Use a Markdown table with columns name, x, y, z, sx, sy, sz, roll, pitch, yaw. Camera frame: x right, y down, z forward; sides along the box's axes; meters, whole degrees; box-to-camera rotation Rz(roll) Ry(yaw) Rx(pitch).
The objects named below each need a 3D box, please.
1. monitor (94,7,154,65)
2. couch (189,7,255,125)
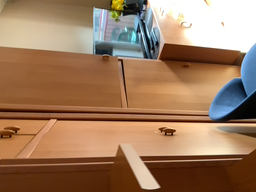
| name | x | y | z | sx | sy | sz | roll | pitch | yaw |
| --- | --- | --- | --- | --- | --- | --- | --- | --- | --- |
| monitor | -0.080 | -0.650 | 2.200 | 0.050 | 0.540 | 0.890 | 105 | 162 | -47 |
| couch | 0.840 | -0.120 | 1.340 | 0.490 | 0.700 | 0.560 | 137 | 134 | -73 |
